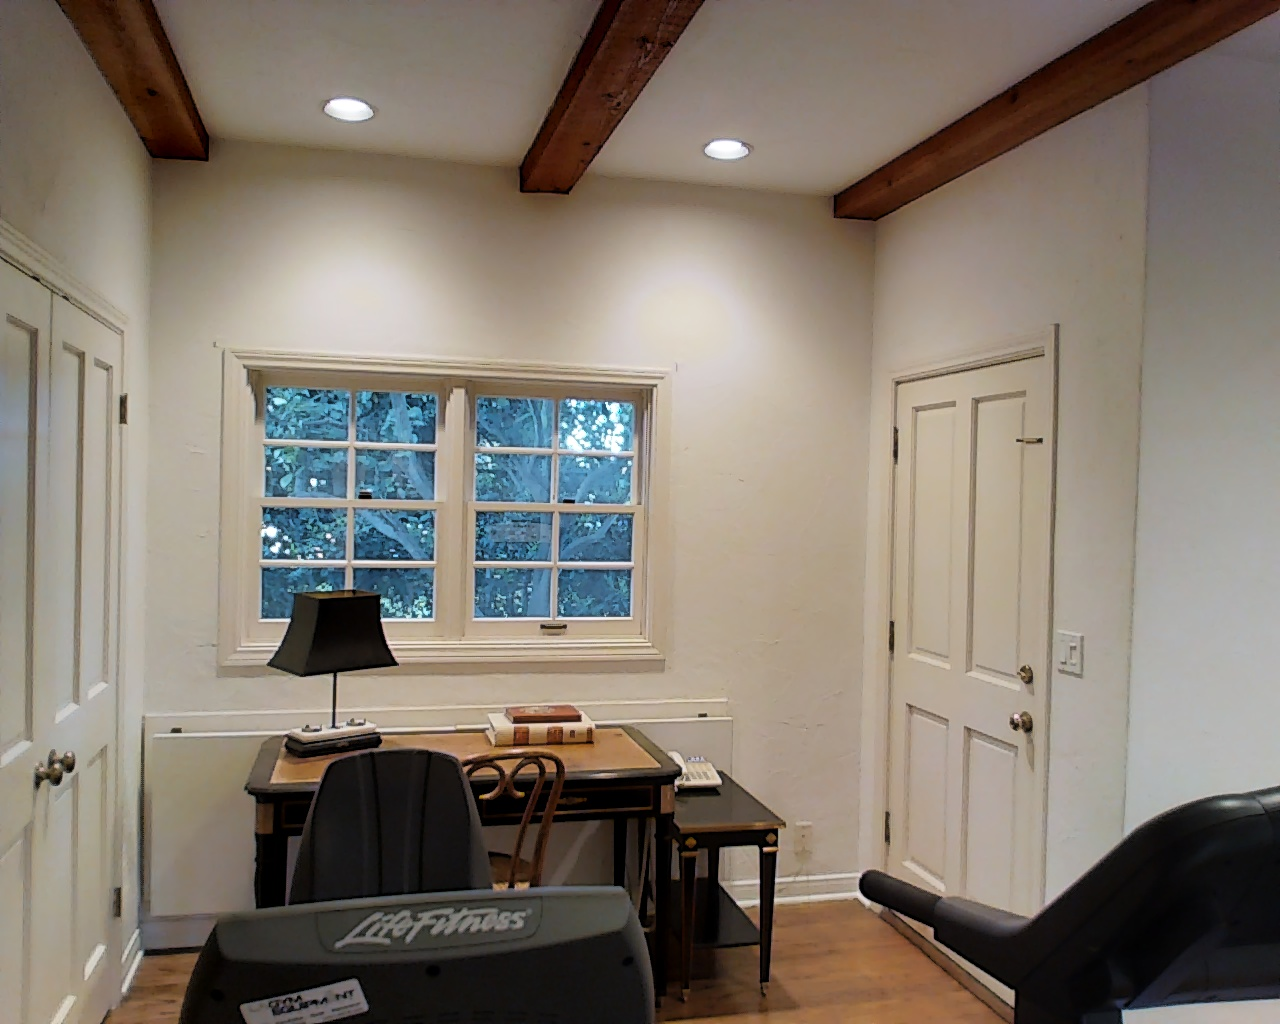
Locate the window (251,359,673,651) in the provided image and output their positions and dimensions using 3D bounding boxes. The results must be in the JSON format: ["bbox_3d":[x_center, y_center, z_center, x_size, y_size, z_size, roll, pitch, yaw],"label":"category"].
[{"bbox_3d":[-0.640,-0.010,4.020,1.520,1.030,0.130,1,1,-14],"label":"window"}]

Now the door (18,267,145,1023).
[{"bbox_3d":[-1.460,0.480,2.850,0.050,2.061,0.960,1,1,-14],"label":"door"}]

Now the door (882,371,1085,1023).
[{"bbox_3d":[1.110,0.570,3.610,0.090,1.981,0.990,1,1,-14],"label":"door"}]
